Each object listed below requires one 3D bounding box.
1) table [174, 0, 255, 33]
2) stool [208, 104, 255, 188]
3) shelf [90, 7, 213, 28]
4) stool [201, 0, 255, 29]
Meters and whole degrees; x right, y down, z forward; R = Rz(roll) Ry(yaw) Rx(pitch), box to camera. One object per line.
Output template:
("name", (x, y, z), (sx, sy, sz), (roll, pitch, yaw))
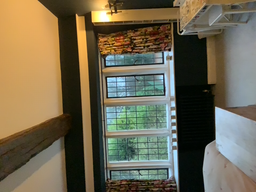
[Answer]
("table", (1.000, -1.100, 2.430), (1.000, 0.730, 0.490), (-84, -9, -86))
("stool", (1.240, 0.410, 2.120), (1.040, 0.480, 0.530), (-85, -8, -85))
("shelf", (0.380, -1.300, 3.540), (0.270, 1.980, 0.180), (-84, -9, -86))
("stool", (1.150, -1.020, 2.470), (0.390, 0.450, 0.330), (68, -160, -88))
